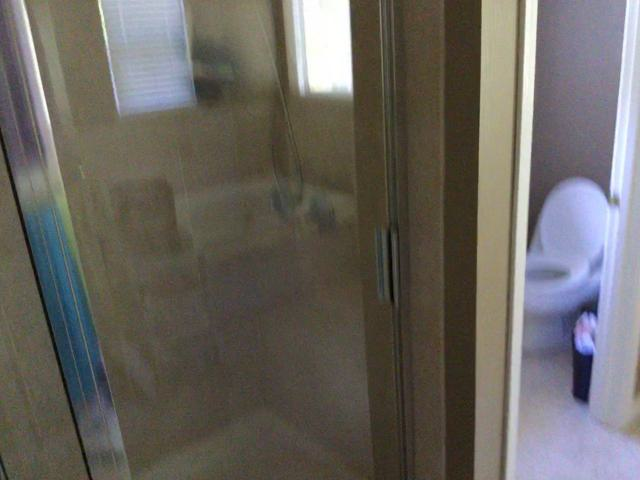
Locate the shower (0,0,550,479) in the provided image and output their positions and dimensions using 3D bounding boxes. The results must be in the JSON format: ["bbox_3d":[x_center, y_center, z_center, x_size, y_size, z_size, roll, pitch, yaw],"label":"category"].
[{"bbox_3d":[-0.310,0.100,1.500,1.460,2.010,1.050,-21,22,-33],"label":"shower"}]

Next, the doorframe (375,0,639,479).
[{"bbox_3d":[0.670,-0.130,1.620,0.990,2.050,0.270,-21,22,-33],"label":"doorframe"}]

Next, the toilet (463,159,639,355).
[{"bbox_3d":[1.110,0.030,2.690,0.700,0.640,0.500,-21,22,-33],"label":"toilet"}]
